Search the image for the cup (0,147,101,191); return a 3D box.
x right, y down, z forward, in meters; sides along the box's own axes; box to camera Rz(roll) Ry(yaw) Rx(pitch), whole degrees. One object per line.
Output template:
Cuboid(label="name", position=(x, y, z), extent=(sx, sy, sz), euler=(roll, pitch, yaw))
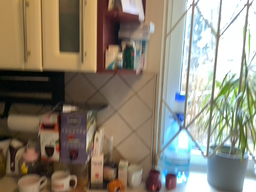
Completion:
Cuboid(label="cup", position=(-0.470, 0.400, 1.120), extent=(0.600, 0.110, 0.270), euler=(3, 9, 8))

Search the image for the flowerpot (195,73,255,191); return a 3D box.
Cuboid(label="flowerpot", position=(0.610, 0.200, 1.200), extent=(0.360, 0.630, 0.290), euler=(6, 10, 23))
